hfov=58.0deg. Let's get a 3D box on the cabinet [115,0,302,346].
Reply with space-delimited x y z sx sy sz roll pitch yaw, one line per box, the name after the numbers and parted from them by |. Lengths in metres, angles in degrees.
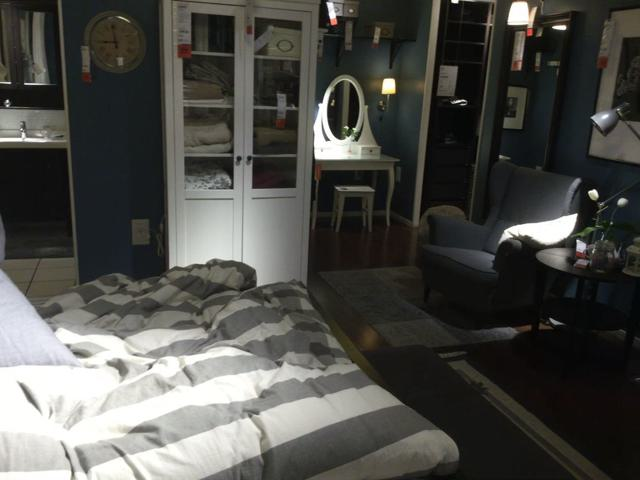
-0.680 -0.390 3.550 0.980 1.970 0.480 -2 16 -15 | cabinet
